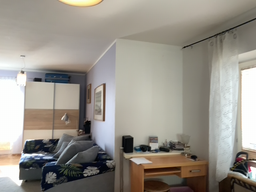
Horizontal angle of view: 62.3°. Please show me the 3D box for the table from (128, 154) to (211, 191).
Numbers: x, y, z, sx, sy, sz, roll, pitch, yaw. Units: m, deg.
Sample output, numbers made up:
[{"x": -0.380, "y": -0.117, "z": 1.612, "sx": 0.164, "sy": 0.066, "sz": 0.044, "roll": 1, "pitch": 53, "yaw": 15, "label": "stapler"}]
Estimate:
[{"x": 0.570, "y": 1.270, "z": 2.960, "sx": 1.040, "sy": 0.760, "sz": 0.490, "roll": 3, "pitch": -3, "yaw": -19, "label": "table"}]

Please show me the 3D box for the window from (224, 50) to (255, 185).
[{"x": 1.600, "y": 0.240, "z": 2.490, "sx": 0.230, "sy": 1.560, "sz": 1.000, "roll": 3, "pitch": -3, "yaw": -20, "label": "window"}]
